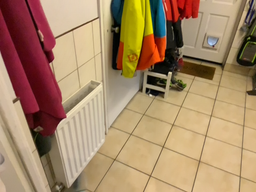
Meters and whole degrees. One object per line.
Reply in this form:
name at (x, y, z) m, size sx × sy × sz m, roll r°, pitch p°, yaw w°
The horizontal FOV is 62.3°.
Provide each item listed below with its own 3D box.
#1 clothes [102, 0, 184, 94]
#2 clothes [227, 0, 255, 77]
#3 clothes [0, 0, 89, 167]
clothes at (0.130, -0.620, 1.570) m, size 0.440 × 1.030 × 0.500 m, roll 17°, pitch 39°, yaw 18°
clothes at (1.620, -0.810, 2.700) m, size 0.330 × 1.150 × 0.190 m, roll 16°, pitch 39°, yaw 17°
clothes at (-0.360, -0.220, 0.820) m, size 0.220 × 1.190 × 0.250 m, roll 17°, pitch 39°, yaw 18°
